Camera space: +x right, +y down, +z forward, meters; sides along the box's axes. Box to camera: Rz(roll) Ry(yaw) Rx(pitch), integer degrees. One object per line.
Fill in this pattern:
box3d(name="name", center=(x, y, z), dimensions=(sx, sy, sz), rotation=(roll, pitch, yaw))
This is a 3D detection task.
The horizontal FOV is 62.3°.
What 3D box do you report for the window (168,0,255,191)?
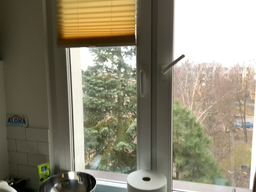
box3d(name="window", center=(0.430, -0.100, 0.980), dimensions=(0.450, 1.280, 0.090), rotation=(2, 7, 17))
